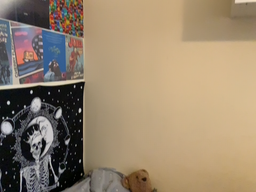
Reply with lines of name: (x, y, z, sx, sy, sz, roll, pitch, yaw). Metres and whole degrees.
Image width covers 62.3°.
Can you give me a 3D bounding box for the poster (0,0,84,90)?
poster: (-0.500, -0.390, 1.110, 0.070, 0.670, 0.910, 5, 8, 19)
